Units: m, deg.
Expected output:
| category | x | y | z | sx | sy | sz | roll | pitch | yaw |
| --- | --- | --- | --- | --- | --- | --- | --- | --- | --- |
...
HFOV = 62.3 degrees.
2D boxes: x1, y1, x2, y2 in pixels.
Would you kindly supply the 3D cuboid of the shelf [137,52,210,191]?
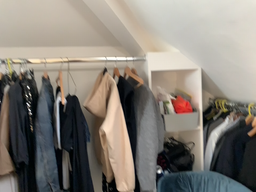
| category | x | y | z | sx | sy | sz | roll | pitch | yaw |
| --- | --- | --- | --- | --- | --- | --- | --- | --- | --- |
| shelf | 0.330 | 0.420 | 1.610 | 0.410 | 1.440 | 0.370 | -2 | 4 | -12 |
